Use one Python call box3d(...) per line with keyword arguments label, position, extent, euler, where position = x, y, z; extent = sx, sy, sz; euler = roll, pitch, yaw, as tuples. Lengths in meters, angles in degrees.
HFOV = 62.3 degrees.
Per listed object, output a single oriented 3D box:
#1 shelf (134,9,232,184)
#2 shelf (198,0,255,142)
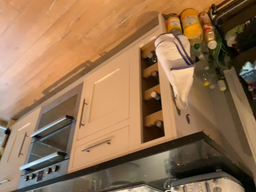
box3d(label="shelf", position=(0.310, -0.010, 1.310), extent=(0.190, 0.910, 0.610), euler=(-27, 136, 31))
box3d(label="shelf", position=(0.790, -0.240, 1.100), extent=(0.540, 0.830, 0.400), euler=(-26, 137, 31))
